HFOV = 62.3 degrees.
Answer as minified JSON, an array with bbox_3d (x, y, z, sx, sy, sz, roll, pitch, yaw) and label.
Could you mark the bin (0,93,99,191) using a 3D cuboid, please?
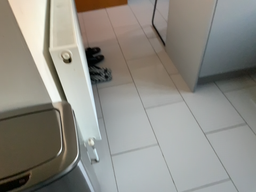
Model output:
[{"bbox_3d":[-0.370,0.360,0.820,0.440,0.640,0.300,-12,46,-8],"label":"bin"}]
